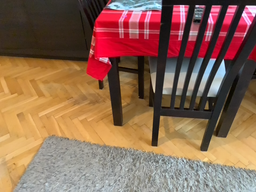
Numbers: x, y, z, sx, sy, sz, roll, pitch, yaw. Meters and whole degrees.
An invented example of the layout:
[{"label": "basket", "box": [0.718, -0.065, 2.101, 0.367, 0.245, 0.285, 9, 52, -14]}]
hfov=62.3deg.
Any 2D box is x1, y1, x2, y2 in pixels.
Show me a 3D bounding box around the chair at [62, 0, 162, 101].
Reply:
[{"label": "chair", "box": [-0.080, -0.520, 1.600, 0.580, 0.990, 0.420, 10, 43, 13]}]
